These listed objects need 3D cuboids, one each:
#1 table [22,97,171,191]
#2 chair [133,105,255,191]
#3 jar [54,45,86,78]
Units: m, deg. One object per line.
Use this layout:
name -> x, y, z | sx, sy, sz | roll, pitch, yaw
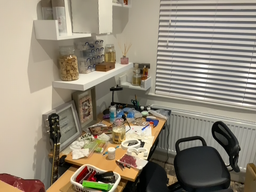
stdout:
table -> -0.090, 0.560, 1.760 | 0.610, 0.680, 1.260 | 8, 21, 20
chair -> 0.410, 0.560, 1.670 | 0.650, 0.760, 0.690 | -1, 20, -5
jar -> -0.370, -0.230, 1.370 | 0.130, 0.180, 0.150 | 6, 20, 14
